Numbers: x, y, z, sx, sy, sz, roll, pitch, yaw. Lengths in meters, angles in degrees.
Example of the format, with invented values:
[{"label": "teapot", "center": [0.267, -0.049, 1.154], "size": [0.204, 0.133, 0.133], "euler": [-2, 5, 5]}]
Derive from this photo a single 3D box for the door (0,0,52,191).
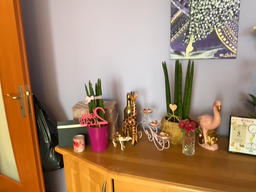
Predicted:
[{"label": "door", "center": [-1.090, 0.050, 1.720], "size": [0.930, 2.050, 0.130], "euler": [5, 15, 25]}]
